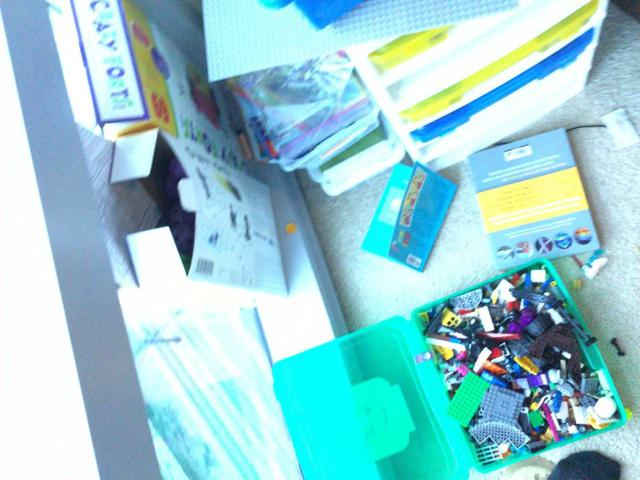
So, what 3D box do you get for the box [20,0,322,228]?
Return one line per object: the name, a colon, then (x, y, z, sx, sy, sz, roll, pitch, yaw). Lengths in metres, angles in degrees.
box: (-0.240, -0.230, 1.070, 0.180, 0.310, 0.460, -44, -21, 11)
